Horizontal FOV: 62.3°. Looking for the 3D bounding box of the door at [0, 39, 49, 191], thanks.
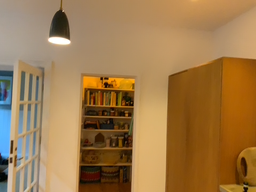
[{"bbox_3d":[-1.120,0.570,2.360,0.140,2.180,0.830,2,-1,-5],"label":"door"}]
